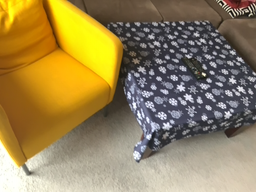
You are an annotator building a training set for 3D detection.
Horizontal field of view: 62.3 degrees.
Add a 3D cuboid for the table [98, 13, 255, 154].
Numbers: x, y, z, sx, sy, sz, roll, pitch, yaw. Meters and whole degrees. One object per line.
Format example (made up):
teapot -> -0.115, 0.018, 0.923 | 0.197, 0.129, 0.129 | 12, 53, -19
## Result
table -> 0.310, -0.150, 1.700 | 0.940, 0.490, 0.960 | -3, 52, -16
